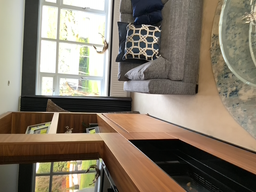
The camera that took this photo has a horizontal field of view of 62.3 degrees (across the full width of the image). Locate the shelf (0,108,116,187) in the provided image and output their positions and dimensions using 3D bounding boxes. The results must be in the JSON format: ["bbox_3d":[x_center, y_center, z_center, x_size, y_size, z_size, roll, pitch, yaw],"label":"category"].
[{"bbox_3d":[-1.000,0.500,2.640,1.610,1.320,0.500,-173,86,-72],"label":"shelf"}]

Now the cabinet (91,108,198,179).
[{"bbox_3d":[0.080,0.550,3.050,1.580,0.970,0.540,-169,83,-72],"label":"cabinet"}]
